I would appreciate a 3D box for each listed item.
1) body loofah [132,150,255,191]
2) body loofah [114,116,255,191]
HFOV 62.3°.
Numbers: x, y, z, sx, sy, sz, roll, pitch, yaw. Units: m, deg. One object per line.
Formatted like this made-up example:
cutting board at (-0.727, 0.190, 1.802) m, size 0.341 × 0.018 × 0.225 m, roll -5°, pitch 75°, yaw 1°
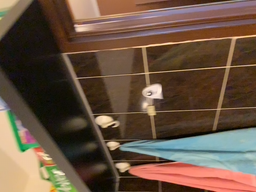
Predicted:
body loofah at (0.500, 0.430, 1.060) m, size 0.220 × 0.930 × 0.230 m, roll -84°, pitch -13°, yaw -46°
body loofah at (0.440, 0.250, 0.890) m, size 0.210 × 0.950 × 0.250 m, roll -84°, pitch -13°, yaw -46°
